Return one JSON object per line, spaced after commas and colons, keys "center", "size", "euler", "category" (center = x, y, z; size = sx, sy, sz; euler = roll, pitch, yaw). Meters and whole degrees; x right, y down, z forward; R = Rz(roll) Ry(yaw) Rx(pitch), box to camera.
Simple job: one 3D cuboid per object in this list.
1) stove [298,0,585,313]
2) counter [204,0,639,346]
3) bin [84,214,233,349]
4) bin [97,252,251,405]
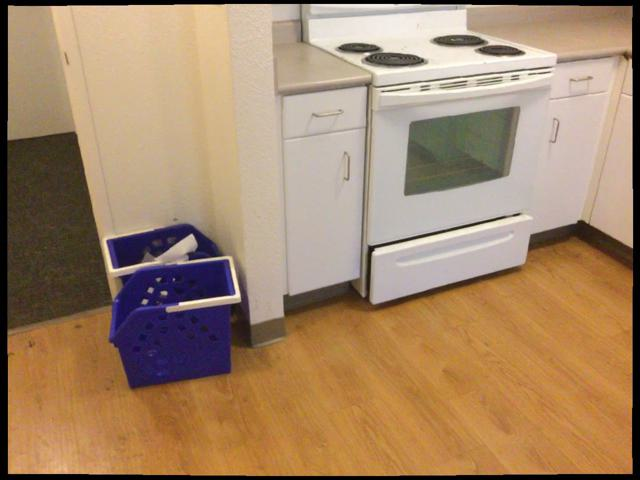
{"center": [0.419, -0.481, 2.390], "size": [0.739, 1.172, 0.780], "euler": [-14, 32, -19], "category": "stove"}
{"center": [0.908, -0.591, 1.950], "size": [2.157, 0.210, 1.840], "euler": [-14, 33, -20], "category": "counter"}
{"center": [-0.599, 0.150, 2.200], "size": [0.469, 0.350, 0.280], "euler": [-8, 33, -11], "category": "bin"}
{"center": [-0.499, 0.291, 1.980], "size": [0.439, 0.320, 0.290], "euler": [-12, 32, -16], "category": "bin"}
